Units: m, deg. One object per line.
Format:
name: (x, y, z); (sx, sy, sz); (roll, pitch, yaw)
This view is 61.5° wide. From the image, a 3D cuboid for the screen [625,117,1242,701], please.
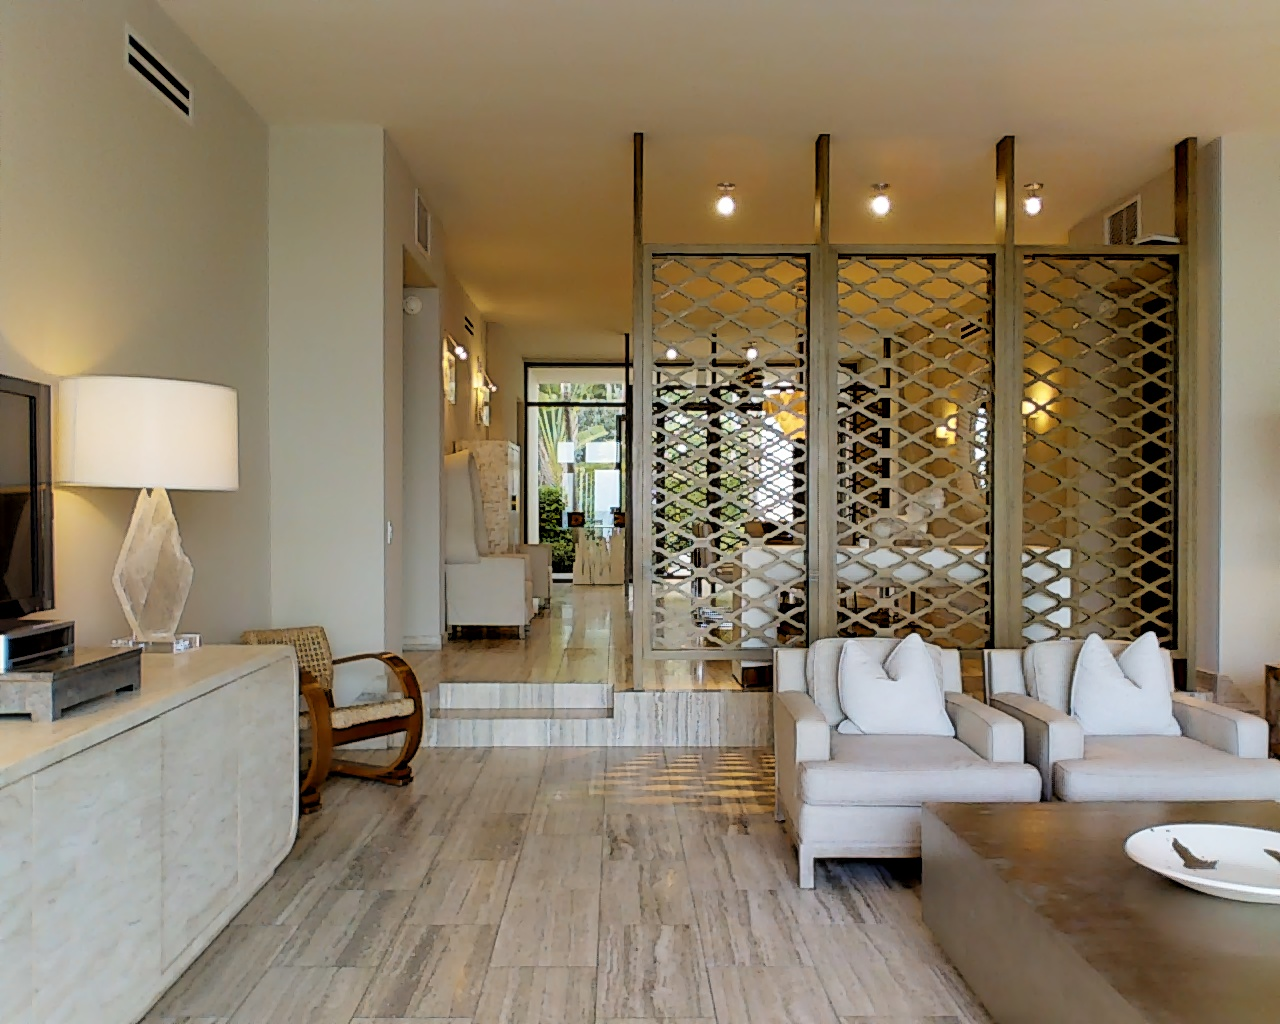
screen: (1.590, -0.550, 5.940); (3.330, 3.140, 0.220); (0, 1, -1)
